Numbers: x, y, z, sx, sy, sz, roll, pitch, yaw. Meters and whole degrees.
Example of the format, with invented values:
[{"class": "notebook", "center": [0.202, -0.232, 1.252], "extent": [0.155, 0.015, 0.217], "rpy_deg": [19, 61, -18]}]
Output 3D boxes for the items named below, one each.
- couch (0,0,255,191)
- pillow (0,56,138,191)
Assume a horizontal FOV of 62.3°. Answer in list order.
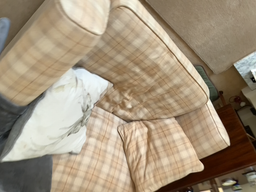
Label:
[{"class": "couch", "center": [-0.120, 0.080, 1.250], "extent": [1.030, 0.940, 1.280], "rpy_deg": [-32, 136, 26]}, {"class": "pillow", "center": [-0.270, 0.120, 1.010], "extent": [0.240, 0.550, 0.400], "rpy_deg": [-34, 176, 29]}]
